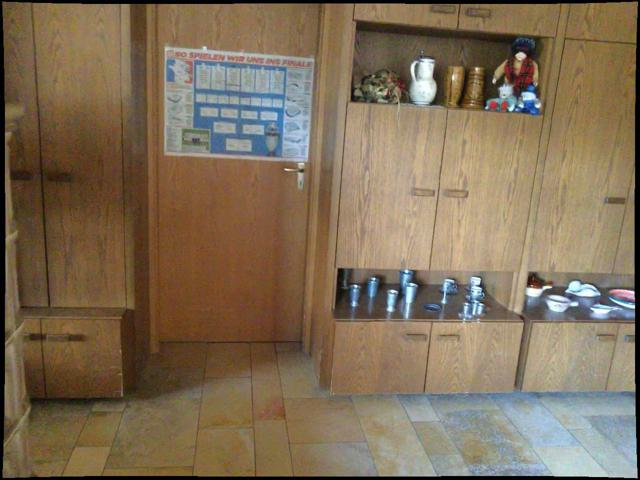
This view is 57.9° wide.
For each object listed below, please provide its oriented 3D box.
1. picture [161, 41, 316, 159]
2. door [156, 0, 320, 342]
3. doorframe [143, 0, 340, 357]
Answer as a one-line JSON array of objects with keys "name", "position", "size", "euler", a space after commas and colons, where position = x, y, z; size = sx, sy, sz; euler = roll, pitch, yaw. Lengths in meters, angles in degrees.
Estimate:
[{"name": "picture", "position": [-0.430, -0.731, 3.050], "size": [0.769, 0.551, 0.140], "euler": [1, 16, -9]}, {"name": "door", "position": [-0.460, -0.320, 3.150], "size": [0.799, 1.832, 0.160], "euler": [1, 16, -9]}, {"name": "doorframe", "position": [-0.430, -0.310, 3.060], "size": [0.899, 1.872, 0.330], "euler": [1, 16, -9]}]
